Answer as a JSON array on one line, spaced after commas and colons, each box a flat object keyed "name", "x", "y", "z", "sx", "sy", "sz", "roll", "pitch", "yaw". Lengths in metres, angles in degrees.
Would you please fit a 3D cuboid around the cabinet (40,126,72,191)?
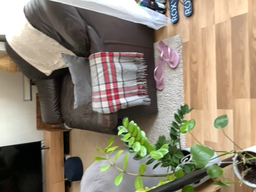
[{"name": "cabinet", "x": -1.050, "y": 1.220, "z": 3.110, "sx": 0.370, "sy": 0.320, "sz": 1.490, "roll": -2, "pitch": 90, "yaw": 52}]

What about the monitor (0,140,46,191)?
[{"name": "monitor", "x": -1.450, "y": 1.170, "z": 2.850, "sx": 0.080, "sy": 0.630, "sz": 1.040, "roll": -6, "pitch": 87, "yaw": 52}]
